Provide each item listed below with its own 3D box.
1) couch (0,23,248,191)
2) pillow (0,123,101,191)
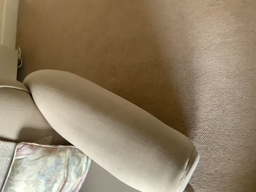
[{"bbox_3d":[-0.210,0.390,0.830,0.790,0.830,0.910,34,98,23],"label":"couch"},{"bbox_3d":[-0.340,0.360,0.800,0.130,0.290,0.410,27,68,38],"label":"pillow"}]
